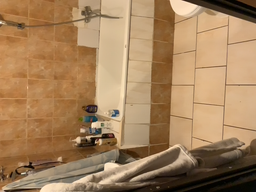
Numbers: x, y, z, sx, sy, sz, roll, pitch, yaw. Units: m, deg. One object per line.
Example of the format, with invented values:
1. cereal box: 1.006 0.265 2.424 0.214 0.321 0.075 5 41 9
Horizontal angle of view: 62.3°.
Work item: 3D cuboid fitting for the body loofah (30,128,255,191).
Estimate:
1. body loofah: 0.310 0.370 1.070 0.280 1.440 0.230 28 114 57
